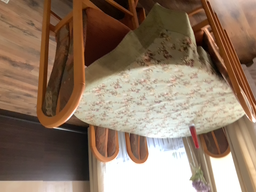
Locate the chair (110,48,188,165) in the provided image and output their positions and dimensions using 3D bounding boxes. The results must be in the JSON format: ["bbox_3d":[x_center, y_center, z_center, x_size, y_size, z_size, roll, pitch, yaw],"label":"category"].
[{"bbox_3d":[0.170,0.120,2.160,0.490,1.030,0.400,-28,148,35],"label":"chair"}]

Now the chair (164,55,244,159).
[{"bbox_3d":[0.840,0.150,2.440,0.450,1.020,0.520,-27,148,34],"label":"chair"}]

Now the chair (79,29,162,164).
[{"bbox_3d":[-0.110,0.020,1.870,0.470,1.030,0.400,-28,148,35],"label":"chair"}]

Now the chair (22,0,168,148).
[{"bbox_3d":[-0.200,-0.280,1.250,0.460,1.020,0.530,-25,149,31],"label":"chair"}]

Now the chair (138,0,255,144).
[{"bbox_3d":[0.450,-0.250,1.490,0.470,1.020,0.410,-25,150,30],"label":"chair"}]

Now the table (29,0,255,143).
[{"bbox_3d":[0.280,-0.180,1.880,1.040,0.770,1.770,-26,149,32],"label":"table"}]
